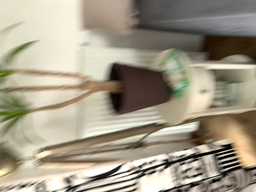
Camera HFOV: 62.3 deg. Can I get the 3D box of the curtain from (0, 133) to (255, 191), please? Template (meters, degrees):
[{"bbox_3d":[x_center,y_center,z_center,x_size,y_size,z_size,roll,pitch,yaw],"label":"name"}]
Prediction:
[{"bbox_3d":[-0.280,0.510,0.810,0.710,2.540,0.200,-153,64,-62],"label":"curtain"}]
